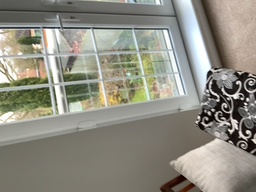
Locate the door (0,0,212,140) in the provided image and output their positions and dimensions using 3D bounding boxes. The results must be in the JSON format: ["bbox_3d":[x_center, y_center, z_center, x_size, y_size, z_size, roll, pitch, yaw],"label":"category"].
[{"bbox_3d":[-0.420,-0.640,1.570,0.110,2.190,1.700,-25,74,64],"label":"door"}]

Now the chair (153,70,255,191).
[{"bbox_3d":[0.630,0.210,1.070,0.450,0.860,0.570,33,126,59],"label":"chair"}]
